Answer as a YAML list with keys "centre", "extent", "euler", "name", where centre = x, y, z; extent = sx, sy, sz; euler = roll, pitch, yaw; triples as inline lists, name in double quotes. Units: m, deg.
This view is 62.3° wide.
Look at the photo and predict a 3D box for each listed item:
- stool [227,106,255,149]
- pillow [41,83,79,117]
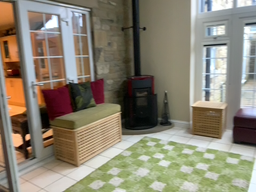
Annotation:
- centre: [1.910, 0.470, 3.200]
  extent: [0.630, 0.460, 0.570]
  euler: [6, 13, 37]
  name: "stool"
- centre: [-0.940, 0.050, 2.980]
  extent: [0.150, 0.390, 0.430]
  euler: [-6, 7, 36]
  name: "pillow"
